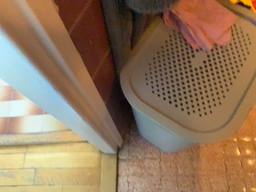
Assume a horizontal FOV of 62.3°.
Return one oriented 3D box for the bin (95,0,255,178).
[{"bbox_3d":[0.220,0.020,0.860,0.350,0.690,0.470,35,75,15],"label":"bin"}]
